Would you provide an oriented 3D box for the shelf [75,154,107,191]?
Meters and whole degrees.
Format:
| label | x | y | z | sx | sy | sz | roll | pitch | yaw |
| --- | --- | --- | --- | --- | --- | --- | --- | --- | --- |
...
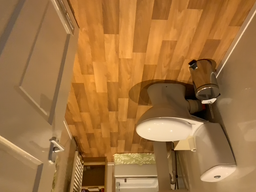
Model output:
| label | x | y | z | sx | sy | sz | roll | pitch | yaw |
| --- | --- | --- | --- | --- | --- | --- | --- | --- | --- |
| shelf | -0.550 | 1.430 | 3.150 | 0.420 | 1.060 | 0.300 | 0 | 146 | -2 |
